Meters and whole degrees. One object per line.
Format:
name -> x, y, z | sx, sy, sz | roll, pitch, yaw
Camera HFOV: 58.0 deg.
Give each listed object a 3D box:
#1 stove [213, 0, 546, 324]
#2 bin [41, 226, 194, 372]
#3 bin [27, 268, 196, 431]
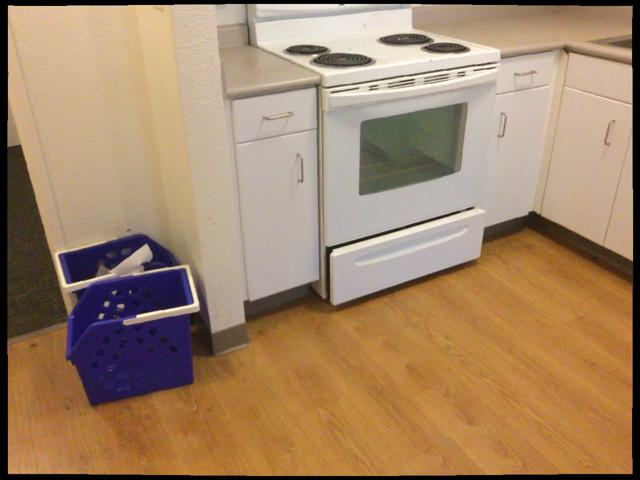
stove -> 0.210, -0.491, 2.440 | 0.959, 1.172, 0.820 | -18, 35, -25
bin -> -0.749, 0.200, 2.140 | 0.419, 0.310, 0.320 | -19, 30, -25
bin -> -0.679, 0.351, 1.910 | 0.439, 0.340, 0.260 | -13, 33, -18
